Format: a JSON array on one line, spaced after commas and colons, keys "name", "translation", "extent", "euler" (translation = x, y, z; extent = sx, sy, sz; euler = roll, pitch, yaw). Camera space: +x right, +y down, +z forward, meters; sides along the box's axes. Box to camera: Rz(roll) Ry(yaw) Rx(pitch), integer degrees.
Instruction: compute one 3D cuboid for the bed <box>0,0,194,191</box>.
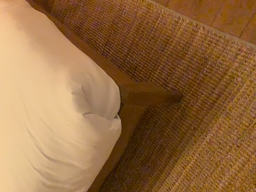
[{"name": "bed", "translation": [-0.880, 0.040, 1.550], "extent": [2.060, 0.700, 1.480], "euler": [41, 114, 34]}]
